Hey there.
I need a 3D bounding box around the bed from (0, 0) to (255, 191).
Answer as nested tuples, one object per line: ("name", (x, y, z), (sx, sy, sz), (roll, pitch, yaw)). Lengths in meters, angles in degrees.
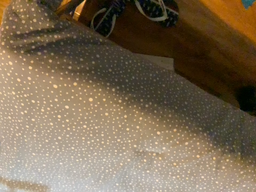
("bed", (0.270, 0.620, 1.300), (2.060, 0.600, 1.480), (29, 126, -11))
